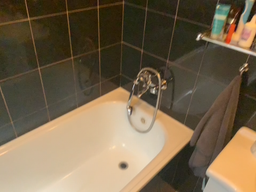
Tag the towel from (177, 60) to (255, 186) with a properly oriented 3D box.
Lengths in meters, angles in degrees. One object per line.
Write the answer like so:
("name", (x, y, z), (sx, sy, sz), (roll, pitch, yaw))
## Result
("towel", (0.480, 0.180, 1.190), (0.170, 0.710, 0.210), (-23, 43, -33))
